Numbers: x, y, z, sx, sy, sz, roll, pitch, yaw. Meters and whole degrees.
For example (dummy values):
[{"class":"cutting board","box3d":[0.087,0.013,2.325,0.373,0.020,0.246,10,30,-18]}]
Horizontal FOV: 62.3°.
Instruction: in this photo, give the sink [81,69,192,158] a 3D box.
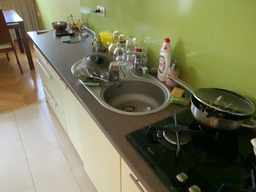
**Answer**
[{"class":"sink","box3d":[0.030,0.060,1.260,0.460,0.190,0.450,-18,37,-27]}]

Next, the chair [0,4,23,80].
[{"class":"chair","box3d":[-1.920,-0.800,3.150,0.410,0.960,0.530,-15,36,-24]}]

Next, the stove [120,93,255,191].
[{"class":"stove","box3d":[0.350,0.210,0.810,0.540,0.040,0.580,-18,37,-27]}]
